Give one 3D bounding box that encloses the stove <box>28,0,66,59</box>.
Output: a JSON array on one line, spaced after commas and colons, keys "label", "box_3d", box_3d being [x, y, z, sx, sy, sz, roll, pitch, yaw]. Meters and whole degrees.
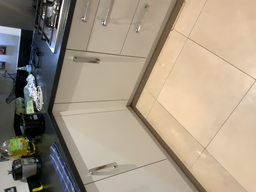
[{"label": "stove", "box_3d": [-0.520, -0.730, 1.380, 0.620, 0.030, 0.760, 49, 128, 38]}]
